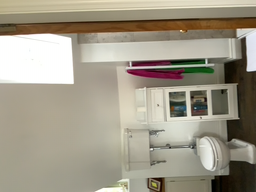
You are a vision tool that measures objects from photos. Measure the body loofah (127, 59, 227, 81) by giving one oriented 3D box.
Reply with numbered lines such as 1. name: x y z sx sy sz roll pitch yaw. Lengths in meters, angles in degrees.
1. body loofah: 0.570 -0.310 2.630 0.380 1.140 0.200 -144 52 -88

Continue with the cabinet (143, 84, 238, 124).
1. cabinet: 0.750 0.090 2.650 0.320 1.080 0.430 -144 52 -88
